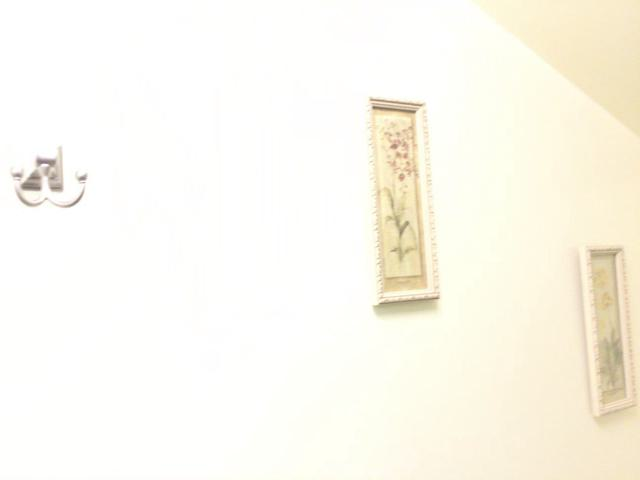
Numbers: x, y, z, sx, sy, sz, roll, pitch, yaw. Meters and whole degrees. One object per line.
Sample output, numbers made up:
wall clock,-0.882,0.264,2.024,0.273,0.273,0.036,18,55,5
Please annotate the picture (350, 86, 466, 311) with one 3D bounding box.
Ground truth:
picture,0.140,-0.060,0.920,0.170,0.340,0.050,3,-10,-28

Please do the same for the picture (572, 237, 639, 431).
picture,0.600,0.180,1.150,0.190,0.360,0.040,3,-10,-28
